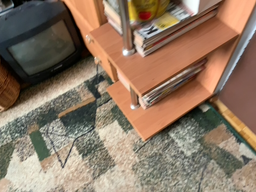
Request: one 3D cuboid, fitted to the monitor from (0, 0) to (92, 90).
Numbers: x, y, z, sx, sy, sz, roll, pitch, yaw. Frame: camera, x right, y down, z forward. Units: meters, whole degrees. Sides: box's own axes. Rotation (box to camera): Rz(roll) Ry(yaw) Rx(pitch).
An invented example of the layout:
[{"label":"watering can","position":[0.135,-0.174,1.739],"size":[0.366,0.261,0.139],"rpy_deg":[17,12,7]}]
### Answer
[{"label":"monitor","position":[-0.480,-0.340,1.130],"size":[0.380,0.350,0.360],"rpy_deg":[-31,62,-13]}]
